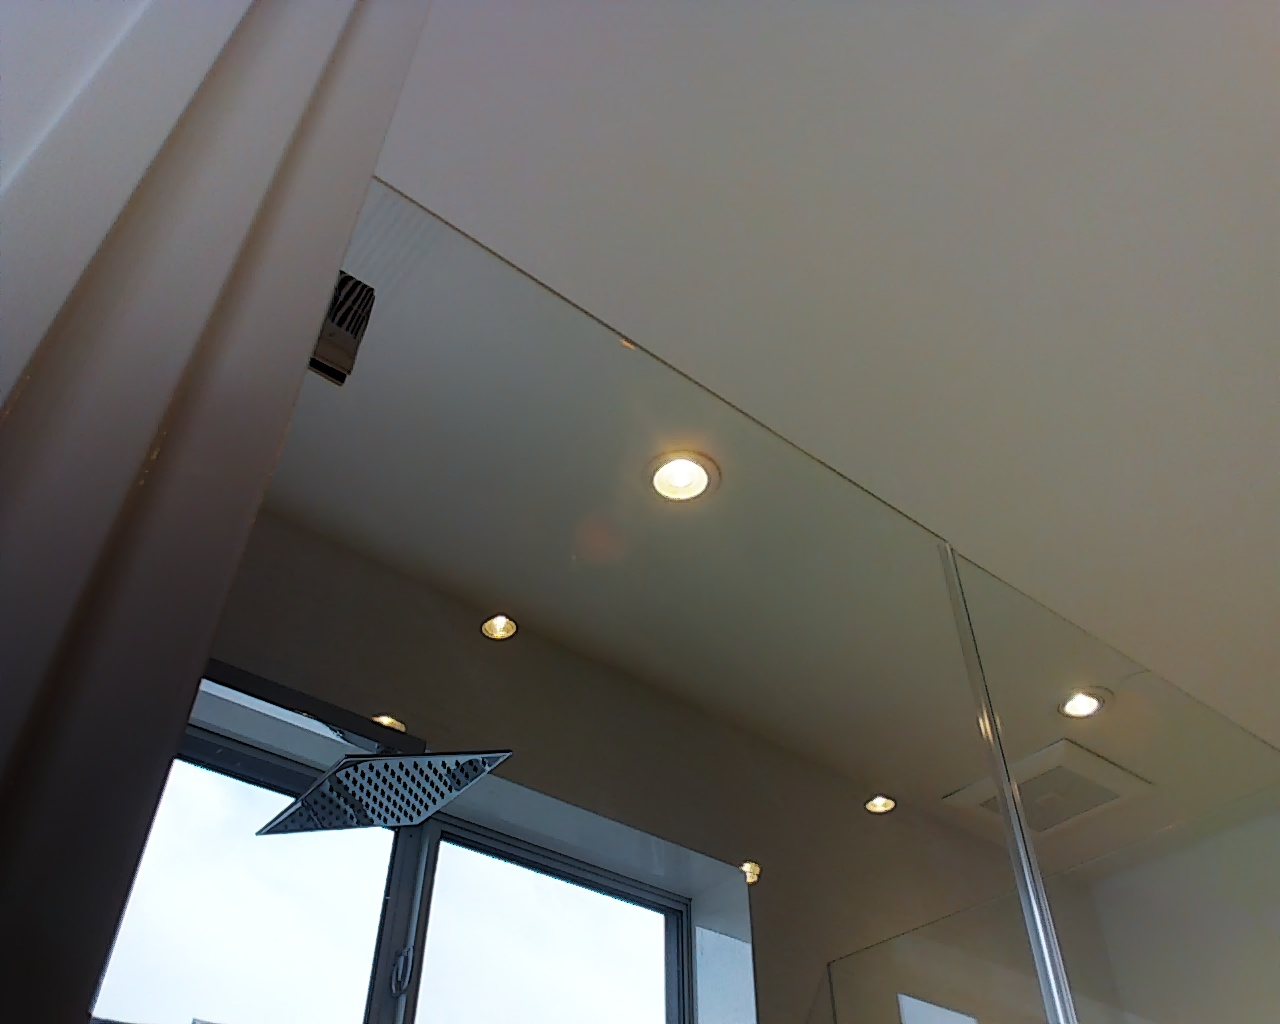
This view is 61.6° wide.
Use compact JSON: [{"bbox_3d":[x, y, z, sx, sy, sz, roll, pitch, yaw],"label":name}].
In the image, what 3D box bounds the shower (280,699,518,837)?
[{"bbox_3d":[-0.260,0.280,1.150,0.180,0.070,0.180,15,-42,-38],"label":"shower"}]
